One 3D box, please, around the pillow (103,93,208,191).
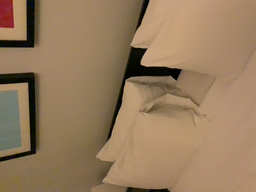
[{"bbox_3d":[0.130,0.330,1.180,0.200,0.390,0.600,40,132,23],"label":"pillow"}]
